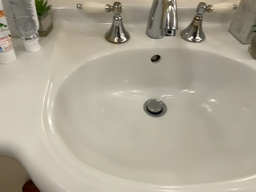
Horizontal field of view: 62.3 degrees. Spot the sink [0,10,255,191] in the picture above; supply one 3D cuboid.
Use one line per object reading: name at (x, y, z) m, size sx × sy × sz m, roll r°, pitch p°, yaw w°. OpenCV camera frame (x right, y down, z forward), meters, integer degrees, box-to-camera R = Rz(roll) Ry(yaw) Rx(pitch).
sink at (0.010, 0.030, 0.480) m, size 0.650 × 0.200 × 0.520 m, roll 0°, pitch 47°, yaw -4°
